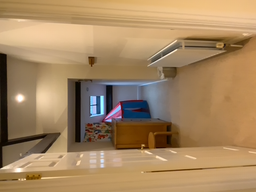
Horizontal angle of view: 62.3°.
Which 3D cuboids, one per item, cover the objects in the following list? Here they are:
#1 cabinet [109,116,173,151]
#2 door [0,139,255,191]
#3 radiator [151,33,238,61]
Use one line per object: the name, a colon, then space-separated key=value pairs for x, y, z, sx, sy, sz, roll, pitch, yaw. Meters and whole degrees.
cabinet: x=0.200 y=0.680 z=4.080 sx=0.840 sy=1.060 sz=0.490 roll=-177 pitch=87 yaw=-80
door: x=0.240 y=0.450 z=1.540 sx=0.970 sy=2.020 sz=0.090 roll=156 pitch=114 yaw=-79
radiator: x=0.680 y=-0.530 z=2.440 sx=0.950 sy=0.570 sz=0.100 roll=-177 pitch=87 yaw=-80
